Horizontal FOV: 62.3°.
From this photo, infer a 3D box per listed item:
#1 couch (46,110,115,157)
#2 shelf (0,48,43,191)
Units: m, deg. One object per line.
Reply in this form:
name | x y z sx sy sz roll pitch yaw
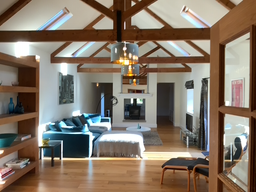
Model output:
couch | -1.300 1.050 7.070 1.350 0.860 3.490 0 1 3
shelf | -2.070 0.430 3.450 0.430 2.280 2.090 0 1 3
